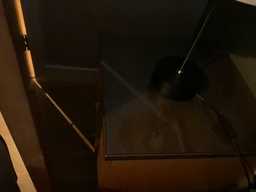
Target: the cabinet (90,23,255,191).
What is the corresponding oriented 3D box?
[{"bbox_3d":[0.120,0.130,0.920,0.520,0.600,0.530,4,49,-10],"label":"cabinet"}]
